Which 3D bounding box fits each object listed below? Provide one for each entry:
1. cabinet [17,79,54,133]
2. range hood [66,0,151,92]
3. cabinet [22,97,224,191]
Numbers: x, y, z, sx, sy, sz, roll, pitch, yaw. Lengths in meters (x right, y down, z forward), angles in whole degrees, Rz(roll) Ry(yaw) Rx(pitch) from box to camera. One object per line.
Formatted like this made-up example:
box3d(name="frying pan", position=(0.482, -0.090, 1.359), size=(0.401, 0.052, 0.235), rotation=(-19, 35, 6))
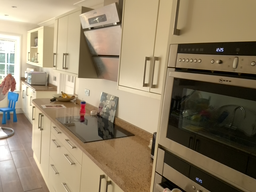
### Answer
box3d(name="cabinet", position=(-2.240, 0.150, 5.010), size=(0.450, 0.910, 1.650), rotation=(0, 11, -36))
box3d(name="range hood", position=(-0.240, -0.600, 2.140), size=(0.480, 1.000, 0.770), rotation=(0, 10, -34))
box3d(name="cabinet", position=(-0.540, 0.730, 2.390), size=(0.730, 0.910, 2.880), rotation=(0, 10, -35))
